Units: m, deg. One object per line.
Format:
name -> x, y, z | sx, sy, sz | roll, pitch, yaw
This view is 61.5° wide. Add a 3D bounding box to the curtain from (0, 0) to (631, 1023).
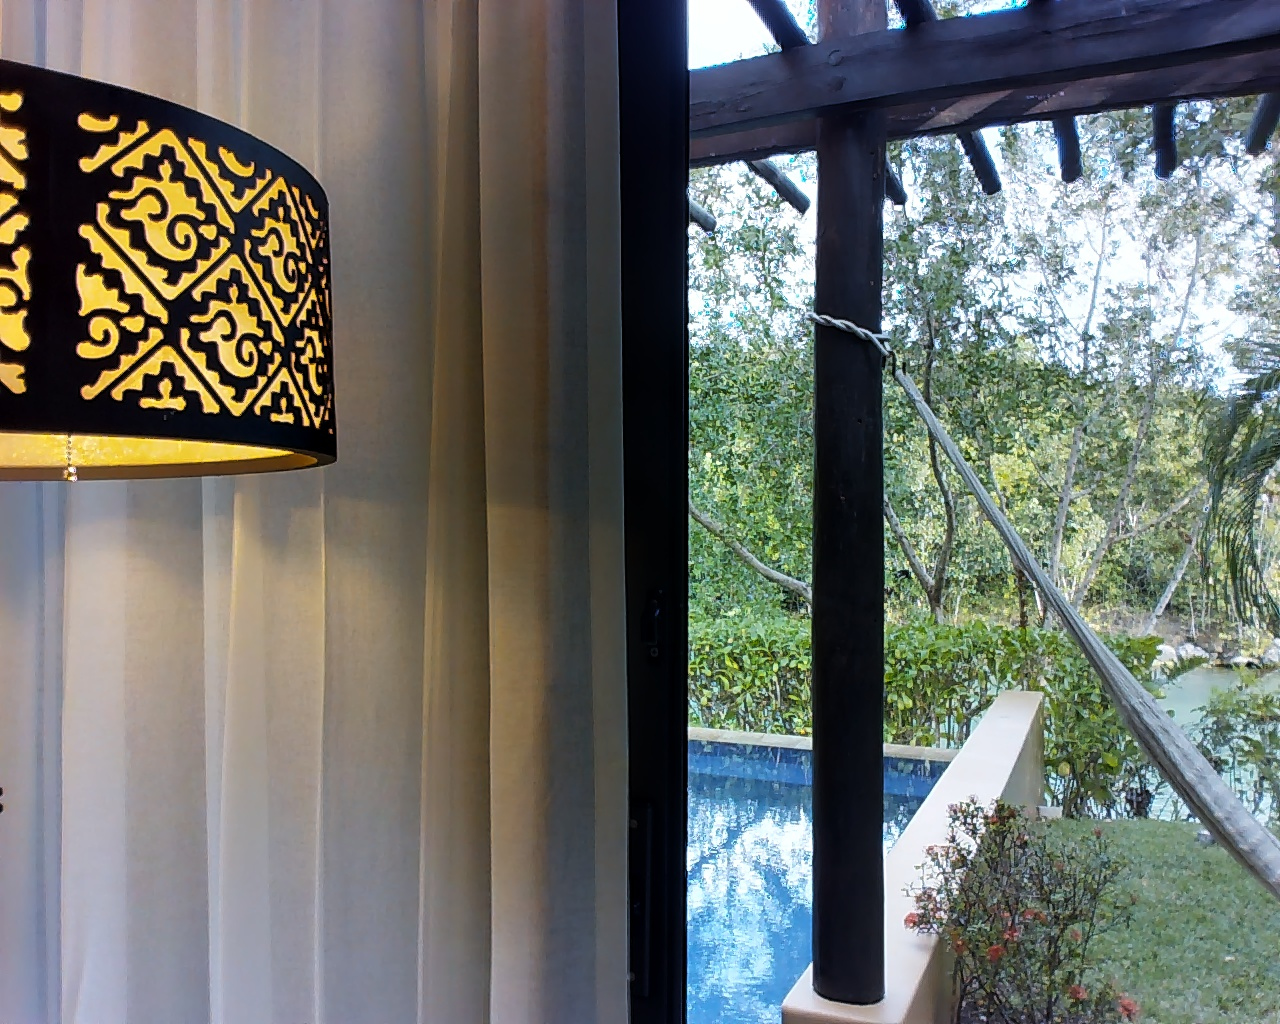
curtain -> -0.670, 0.080, 1.010 | 1.240, 2.621, 0.460 | -1, -1, 25
